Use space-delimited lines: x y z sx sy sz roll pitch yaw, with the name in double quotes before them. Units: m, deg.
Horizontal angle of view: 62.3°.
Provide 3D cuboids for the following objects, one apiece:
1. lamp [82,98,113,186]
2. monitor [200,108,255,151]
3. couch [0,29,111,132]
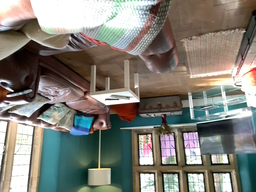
"lamp" -0.680 1.010 4.760 0.510 1.800 0.500 7 162 -28
"monitor" 1.780 0.630 3.760 0.060 0.640 1.040 10 160 -35
"couch" -1.130 0.020 3.210 1.030 0.740 2.260 -6 163 15
